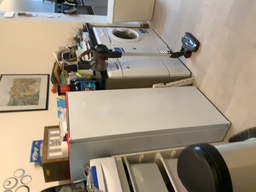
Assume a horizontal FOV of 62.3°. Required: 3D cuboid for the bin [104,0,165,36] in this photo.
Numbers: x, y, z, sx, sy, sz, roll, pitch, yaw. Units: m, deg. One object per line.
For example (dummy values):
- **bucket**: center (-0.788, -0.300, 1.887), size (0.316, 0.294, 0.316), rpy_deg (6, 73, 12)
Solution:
- **bin**: center (0.070, -1.160, 2.950), size (0.360, 0.710, 0.520), rpy_deg (-115, 28, -53)
